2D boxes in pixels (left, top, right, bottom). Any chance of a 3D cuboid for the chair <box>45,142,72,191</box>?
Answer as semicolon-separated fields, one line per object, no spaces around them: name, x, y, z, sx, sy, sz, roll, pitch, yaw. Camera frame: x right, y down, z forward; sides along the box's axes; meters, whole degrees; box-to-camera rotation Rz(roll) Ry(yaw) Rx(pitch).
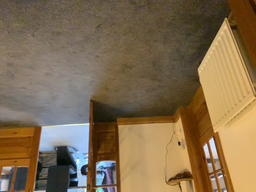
chair;-1.310;1.450;4.060;0.380;0.990;0.530;2;152;-12

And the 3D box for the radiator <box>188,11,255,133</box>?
radiator;0.680;-0.140;1.570;0.150;0.640;0.640;-2;152;-4
